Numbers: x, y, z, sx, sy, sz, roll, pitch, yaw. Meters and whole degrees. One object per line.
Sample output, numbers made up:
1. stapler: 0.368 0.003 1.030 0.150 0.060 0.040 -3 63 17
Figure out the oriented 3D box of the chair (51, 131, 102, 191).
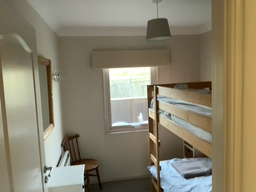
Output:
1. chair: -0.720 0.980 3.070 0.510 0.820 0.510 -1 6 11
